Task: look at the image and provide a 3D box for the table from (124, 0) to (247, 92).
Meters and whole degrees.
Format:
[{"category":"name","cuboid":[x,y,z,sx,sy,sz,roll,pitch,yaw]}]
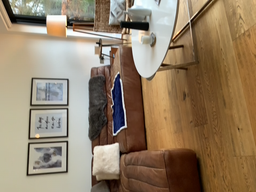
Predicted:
[{"category":"table","cuboid":[0.360,-0.750,1.970,1.080,0.460,1.130,128,140,-66]}]
